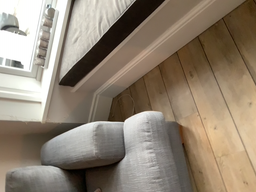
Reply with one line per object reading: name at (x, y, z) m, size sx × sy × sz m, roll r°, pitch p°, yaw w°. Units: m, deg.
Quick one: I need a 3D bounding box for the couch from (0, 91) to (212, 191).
couch at (-0.190, 0.870, 1.280) m, size 1.170 × 0.850 × 1.380 m, roll -27°, pitch 64°, yaw 43°
